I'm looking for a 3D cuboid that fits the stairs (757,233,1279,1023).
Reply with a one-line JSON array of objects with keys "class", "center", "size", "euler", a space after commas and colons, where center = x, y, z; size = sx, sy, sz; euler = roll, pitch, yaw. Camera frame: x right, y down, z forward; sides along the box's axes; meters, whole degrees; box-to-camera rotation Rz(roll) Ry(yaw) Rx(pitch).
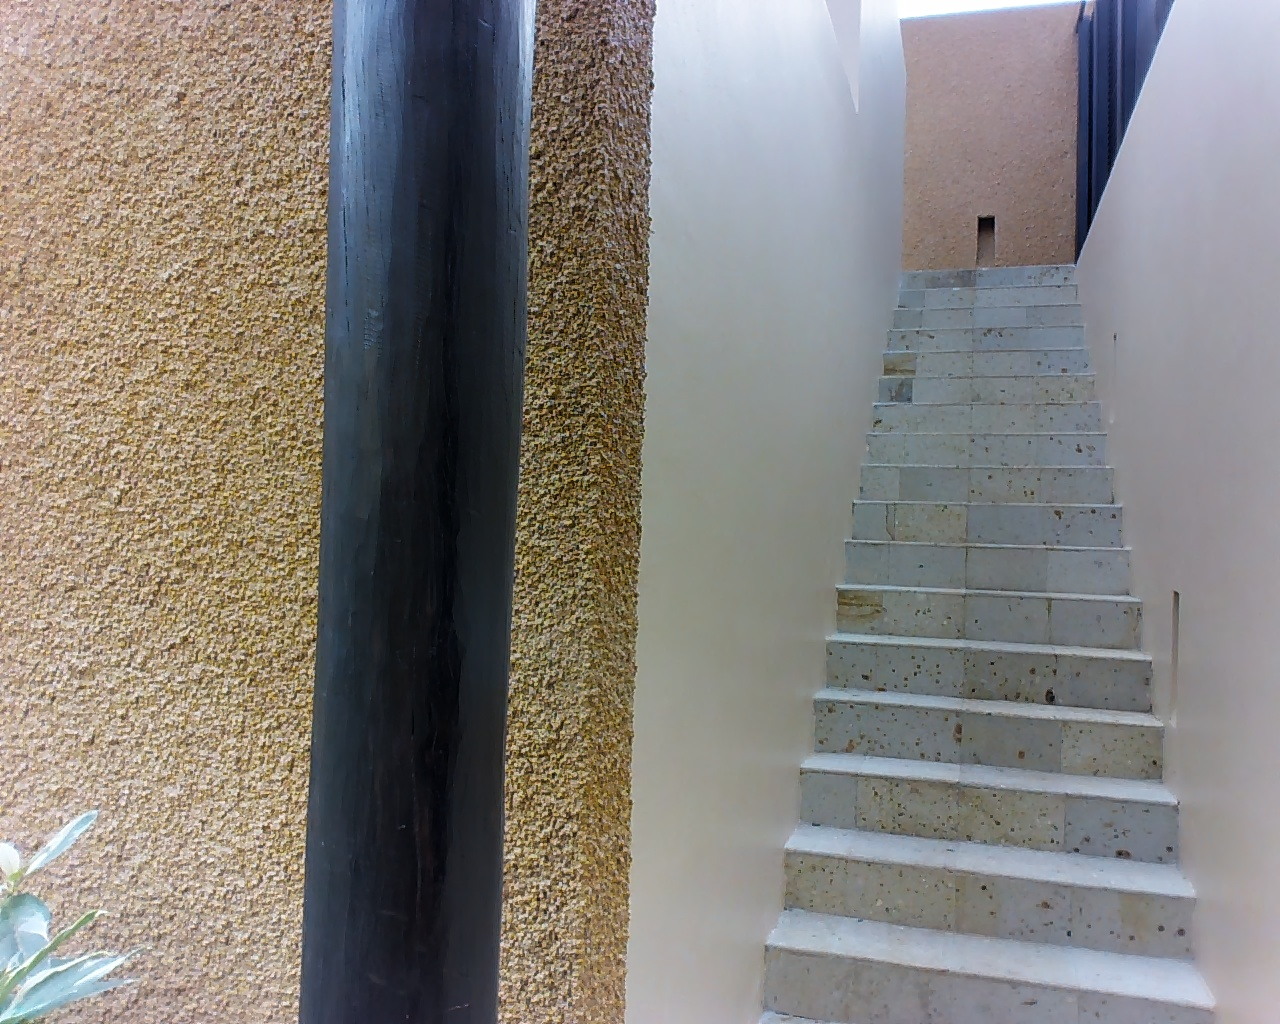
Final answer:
[{"class": "stairs", "center": [1.649, -0.080, 4.760], "size": [1.250, 0.400, 5.730], "euler": [1, 32, 17]}]
